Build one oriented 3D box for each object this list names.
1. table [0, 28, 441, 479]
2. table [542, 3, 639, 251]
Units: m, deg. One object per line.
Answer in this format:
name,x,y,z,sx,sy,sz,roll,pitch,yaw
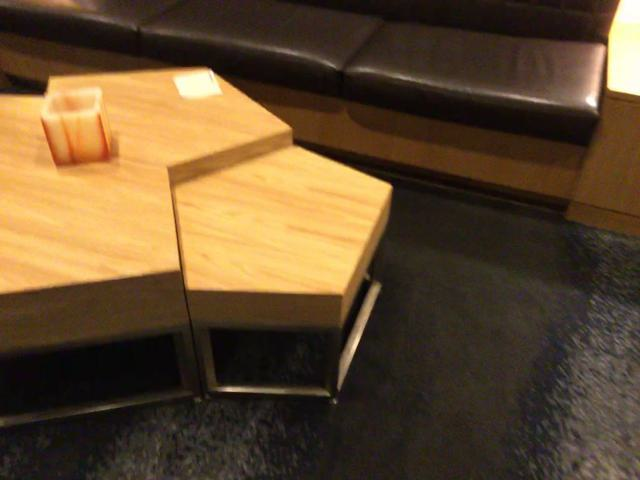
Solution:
table,-0.610,-0.080,1.720,1.600,0.500,1.220,15,41,18
table,1.240,-0.410,2.050,0.650,0.520,0.850,15,42,18
